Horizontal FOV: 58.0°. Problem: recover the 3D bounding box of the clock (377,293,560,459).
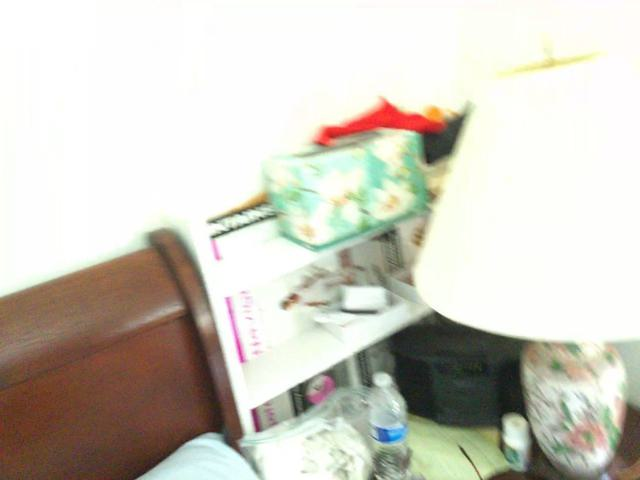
[{"bbox_3d":[0.280,0.240,1.100,0.210,0.160,0.250,-21,22,-31],"label":"clock"}]
